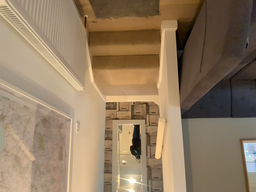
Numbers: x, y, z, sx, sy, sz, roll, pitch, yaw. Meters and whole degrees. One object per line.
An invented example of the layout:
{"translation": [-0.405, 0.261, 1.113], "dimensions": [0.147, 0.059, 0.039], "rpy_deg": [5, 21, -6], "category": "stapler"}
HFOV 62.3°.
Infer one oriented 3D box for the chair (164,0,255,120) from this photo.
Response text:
{"translation": [0.830, -0.370, 1.990], "dimensions": [0.740, 0.950, 1.790], "rpy_deg": [-1, 166, 3], "category": "chair"}
